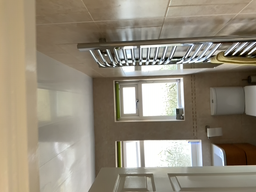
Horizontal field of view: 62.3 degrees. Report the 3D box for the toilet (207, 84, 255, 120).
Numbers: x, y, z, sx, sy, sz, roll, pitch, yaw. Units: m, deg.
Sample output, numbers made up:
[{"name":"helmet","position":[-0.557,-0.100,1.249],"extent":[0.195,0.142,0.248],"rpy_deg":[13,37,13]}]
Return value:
[{"name":"toilet","position":[1.480,0.060,2.630],"extent":[0.680,0.770,0.390],"rpy_deg":[2,-93,-87]}]
